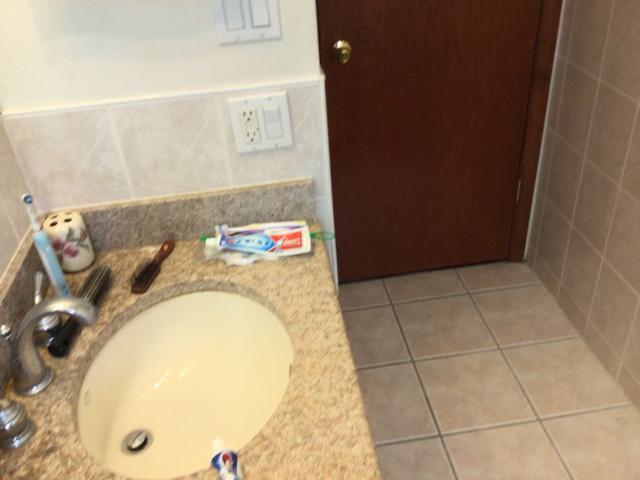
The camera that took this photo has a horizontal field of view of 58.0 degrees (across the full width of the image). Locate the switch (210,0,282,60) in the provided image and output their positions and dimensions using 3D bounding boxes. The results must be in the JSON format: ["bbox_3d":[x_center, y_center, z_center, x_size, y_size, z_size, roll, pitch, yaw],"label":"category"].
[{"bbox_3d":[-0.130,-0.390,1.010,0.110,0.130,0.020,-8,34,-4],"label":"switch"}]

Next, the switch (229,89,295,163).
[{"bbox_3d":[-0.110,-0.220,1.120,0.110,0.130,0.020,-8,34,-4],"label":"switch"}]
